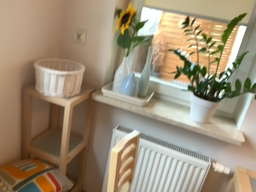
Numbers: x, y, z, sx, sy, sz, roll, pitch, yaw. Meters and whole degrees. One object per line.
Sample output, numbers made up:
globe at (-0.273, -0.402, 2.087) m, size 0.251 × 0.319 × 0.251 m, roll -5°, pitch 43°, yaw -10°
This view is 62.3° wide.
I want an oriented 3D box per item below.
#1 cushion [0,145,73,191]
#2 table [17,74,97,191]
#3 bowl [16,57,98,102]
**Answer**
cushion at (-0.620, 0.510, 0.960) m, size 0.390 × 0.100 × 0.730 m, roll 16°, pitch 21°, yaw 12°
table at (-0.500, 0.380, 1.470) m, size 0.330 × 0.960 × 0.340 m, roll 16°, pitch 21°, yaw 11°
bowl at (-0.410, -0.120, 1.280) m, size 0.320 × 0.120 × 0.350 m, roll 17°, pitch 21°, yaw 13°
